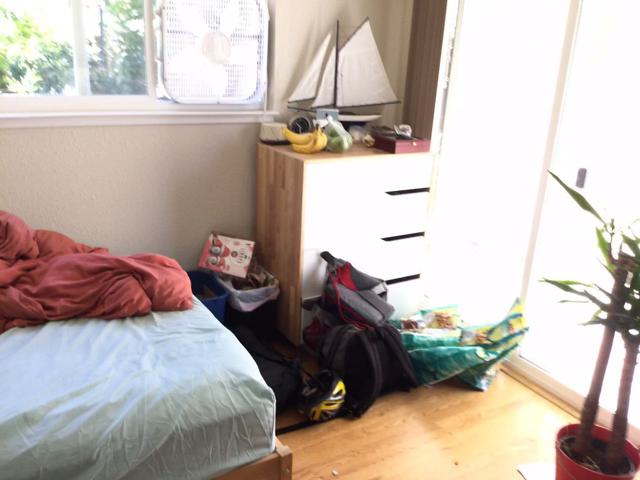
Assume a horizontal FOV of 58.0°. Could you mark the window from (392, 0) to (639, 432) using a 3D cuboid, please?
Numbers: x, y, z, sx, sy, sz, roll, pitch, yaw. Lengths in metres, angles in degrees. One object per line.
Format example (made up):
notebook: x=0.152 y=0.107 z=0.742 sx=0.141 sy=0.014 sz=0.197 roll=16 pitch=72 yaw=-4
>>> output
window: x=1.060 y=-0.430 z=2.310 sx=0.450 sy=2.010 sz=1.650 roll=-10 pitch=19 yaw=-34

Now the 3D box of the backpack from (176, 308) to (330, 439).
backpack: x=-0.310 y=0.560 z=2.580 sx=0.460 sy=0.250 sz=0.570 roll=-10 pitch=19 yaw=-34

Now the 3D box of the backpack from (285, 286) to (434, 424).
backpack: x=0.170 y=0.500 z=2.670 sx=0.490 sy=0.360 sz=0.470 roll=-10 pitch=19 yaw=-34

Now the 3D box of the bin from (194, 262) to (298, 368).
bin: x=-0.380 y=0.360 z=2.940 sx=0.360 sy=0.340 sz=0.430 roll=-10 pitch=20 yaw=-33

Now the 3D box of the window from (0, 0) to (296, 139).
window: x=-1.060 y=-0.980 z=2.370 sx=2.010 sy=1.050 sz=0.420 roll=-10 pitch=19 yaw=-34
